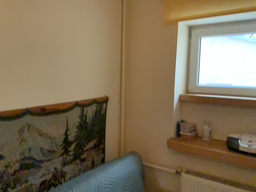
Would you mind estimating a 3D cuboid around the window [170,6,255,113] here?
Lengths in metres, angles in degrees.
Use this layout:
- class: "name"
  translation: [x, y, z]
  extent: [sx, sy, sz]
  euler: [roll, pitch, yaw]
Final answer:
- class: "window"
  translation: [0.850, -0.300, 1.870]
  extent: [0.860, 0.810, 0.280]
  euler: [5, 7, 33]
